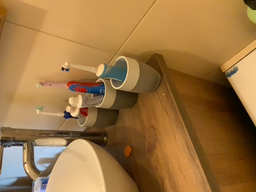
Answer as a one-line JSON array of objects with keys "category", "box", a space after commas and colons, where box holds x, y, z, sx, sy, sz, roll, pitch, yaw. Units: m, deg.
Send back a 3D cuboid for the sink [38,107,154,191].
[{"category": "sink", "box": [-0.120, 0.300, 0.590, 0.430, 0.130, 0.360, -44, 49, 39]}]
